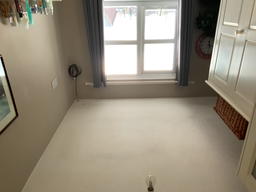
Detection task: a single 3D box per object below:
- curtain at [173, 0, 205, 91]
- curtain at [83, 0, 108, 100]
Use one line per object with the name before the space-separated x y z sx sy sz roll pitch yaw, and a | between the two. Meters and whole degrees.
curtain | 0.740 -0.790 2.610 0.230 1.440 0.320 0 -157 2
curtain | -0.410 -0.700 2.720 0.230 1.570 0.140 -3 -157 -6
